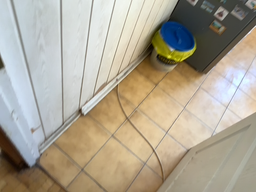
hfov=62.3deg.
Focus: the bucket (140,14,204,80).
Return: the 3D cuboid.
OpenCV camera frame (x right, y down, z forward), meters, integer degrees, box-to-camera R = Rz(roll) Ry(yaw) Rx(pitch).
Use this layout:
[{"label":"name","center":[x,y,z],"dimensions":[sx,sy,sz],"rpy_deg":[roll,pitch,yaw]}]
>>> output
[{"label":"bucket","center":[0.370,-0.420,1.860],"dimensions":[0.340,0.340,0.300],"rpy_deg":[41,59,8]}]
